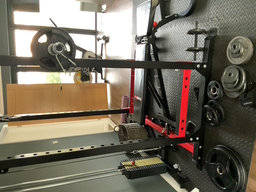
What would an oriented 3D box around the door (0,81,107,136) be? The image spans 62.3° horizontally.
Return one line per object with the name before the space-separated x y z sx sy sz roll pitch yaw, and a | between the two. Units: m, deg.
door | -1.460 0.210 4.430 0.130 2.090 1.020 -167 76 -66
